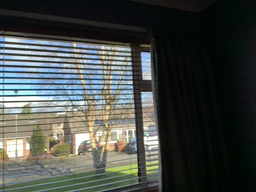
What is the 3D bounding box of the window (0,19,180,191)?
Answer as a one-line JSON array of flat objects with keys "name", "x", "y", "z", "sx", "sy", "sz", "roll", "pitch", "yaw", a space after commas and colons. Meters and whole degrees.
[{"name": "window", "x": -0.840, "y": 0.250, "z": 1.690, "sx": 2.770, "sy": 1.690, "sz": 0.150, "roll": -1, "pitch": -6, "yaw": -23}]
